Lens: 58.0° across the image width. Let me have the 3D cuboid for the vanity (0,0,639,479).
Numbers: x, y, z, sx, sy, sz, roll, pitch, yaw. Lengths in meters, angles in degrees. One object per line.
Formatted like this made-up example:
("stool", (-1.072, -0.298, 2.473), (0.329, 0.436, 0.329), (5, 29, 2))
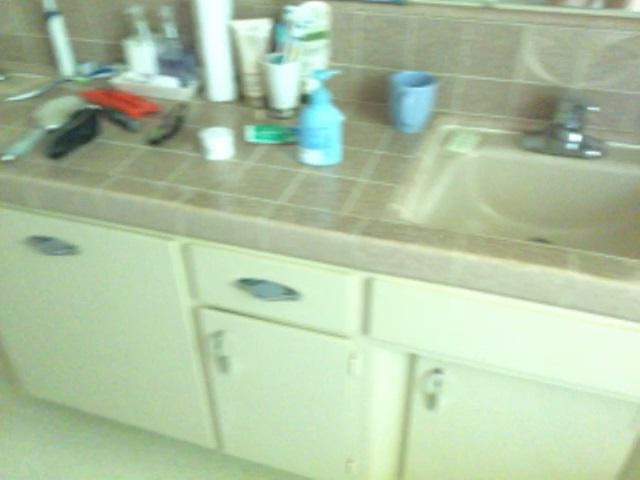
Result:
("vanity", (-0.280, 0.030, 1.300), (2.680, 1.030, 0.610), (13, 37, 19))
